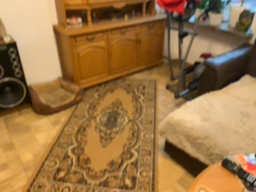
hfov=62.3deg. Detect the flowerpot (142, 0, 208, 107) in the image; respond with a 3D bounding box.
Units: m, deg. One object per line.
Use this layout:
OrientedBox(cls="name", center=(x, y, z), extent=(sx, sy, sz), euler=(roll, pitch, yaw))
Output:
OrientedBox(cls="flowerpot", center=(0.600, -0.670, 2.640), extent=(0.350, 1.250, 1.010), euler=(19, 36, 25))
